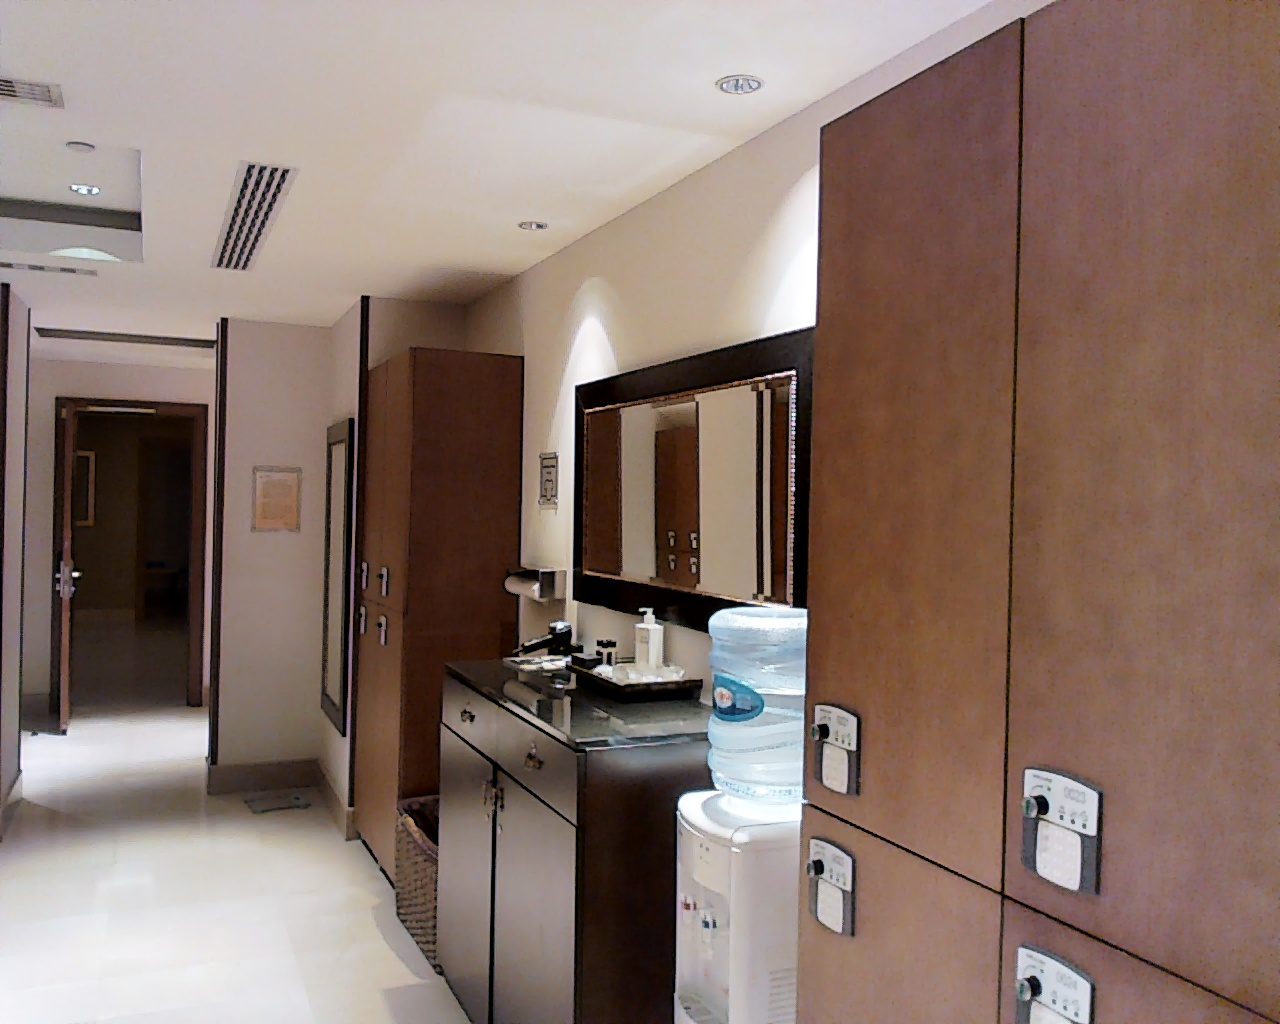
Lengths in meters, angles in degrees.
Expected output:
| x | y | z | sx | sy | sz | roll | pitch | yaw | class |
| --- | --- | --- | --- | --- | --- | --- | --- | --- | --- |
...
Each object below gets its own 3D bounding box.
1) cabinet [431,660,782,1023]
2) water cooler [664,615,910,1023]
| x | y | z | sx | sy | sz | roll | pitch | yaw | class |
| --- | --- | --- | --- | --- | --- | --- | --- | --- | --- |
| -0.170 | 1.060 | 3.070 | 0.530 | 1.090 | 1.260 | 1 | 0 | -25 | cabinet |
| 0.300 | 0.930 | 2.270 | 0.390 | 1.390 | 0.310 | 1 | 0 | -27 | water cooler |
